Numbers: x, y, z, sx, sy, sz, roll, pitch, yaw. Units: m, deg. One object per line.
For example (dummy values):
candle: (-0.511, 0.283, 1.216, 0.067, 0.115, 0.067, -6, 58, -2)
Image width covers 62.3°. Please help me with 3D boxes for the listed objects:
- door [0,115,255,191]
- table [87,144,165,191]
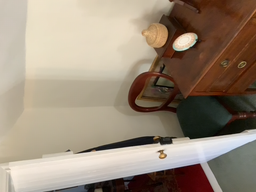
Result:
door: (0.100, 0.410, 1.460, 0.820, 1.700, 0.130, -53, 45, 51)
table: (-0.090, 1.210, 3.080, 1.060, 0.730, 0.440, -64, 37, 43)
